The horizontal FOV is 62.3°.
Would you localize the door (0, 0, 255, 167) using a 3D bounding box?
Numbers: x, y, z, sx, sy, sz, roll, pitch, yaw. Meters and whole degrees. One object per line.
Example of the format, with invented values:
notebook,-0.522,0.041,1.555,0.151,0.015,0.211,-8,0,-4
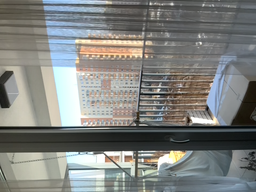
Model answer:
door,0.280,-0.060,1.180,0.230,2.490,1.030,-97,9,-59
